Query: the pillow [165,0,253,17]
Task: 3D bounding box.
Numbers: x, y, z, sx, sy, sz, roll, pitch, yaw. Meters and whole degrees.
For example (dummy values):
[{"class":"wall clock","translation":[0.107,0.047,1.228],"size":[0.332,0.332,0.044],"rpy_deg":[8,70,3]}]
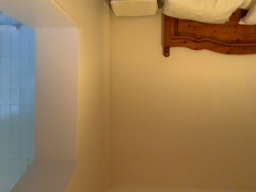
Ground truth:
[{"class":"pillow","translation":[0.680,-0.820,1.840],"size":[0.680,0.180,0.210],"rpy_deg":[0,-178,4]}]
